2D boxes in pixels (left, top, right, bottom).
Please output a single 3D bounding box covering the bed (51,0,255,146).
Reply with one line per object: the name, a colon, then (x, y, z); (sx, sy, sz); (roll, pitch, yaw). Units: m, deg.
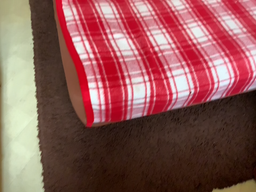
bed: (0.560, -0.560, 1.390); (1.960, 0.420, 1.240); (-12, 63, -10)
